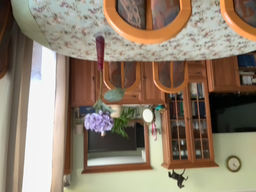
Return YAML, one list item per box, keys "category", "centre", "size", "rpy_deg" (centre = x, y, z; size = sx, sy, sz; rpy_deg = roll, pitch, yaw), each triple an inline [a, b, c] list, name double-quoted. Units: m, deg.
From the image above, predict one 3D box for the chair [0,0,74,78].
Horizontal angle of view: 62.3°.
- category: "chair"
  centre: [-0.600, -0.650, 1.300]
  size: [0.470, 1.010, 0.390]
  rpy_deg: [-1, 171, -6]

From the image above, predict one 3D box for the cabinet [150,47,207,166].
- category: "cabinet"
  centre: [0.850, 0.160, 3.720]
  size: [0.750, 1.950, 0.420]
  rpy_deg: [0, 171, -8]
